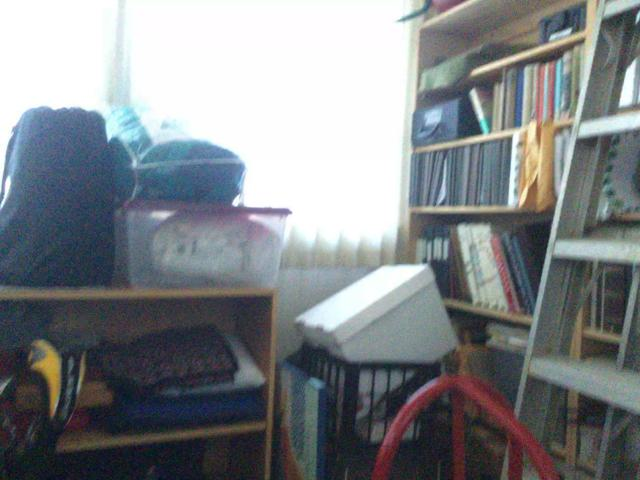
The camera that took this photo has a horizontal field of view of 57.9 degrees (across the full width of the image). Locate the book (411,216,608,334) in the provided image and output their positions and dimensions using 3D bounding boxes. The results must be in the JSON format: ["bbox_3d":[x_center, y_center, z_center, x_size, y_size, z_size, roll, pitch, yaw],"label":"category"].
[{"bbox_3d":[0.660,0.100,2.140,0.290,0.360,0.680,1,1,-26],"label":"book"}]

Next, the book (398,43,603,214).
[{"bbox_3d":[0.590,-0.340,2.080,0.180,0.480,0.810,1,1,-26],"label":"book"}]

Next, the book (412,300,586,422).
[{"bbox_3d":[0.640,0.420,2.160,0.300,0.310,0.570,1,1,-26],"label":"book"}]
